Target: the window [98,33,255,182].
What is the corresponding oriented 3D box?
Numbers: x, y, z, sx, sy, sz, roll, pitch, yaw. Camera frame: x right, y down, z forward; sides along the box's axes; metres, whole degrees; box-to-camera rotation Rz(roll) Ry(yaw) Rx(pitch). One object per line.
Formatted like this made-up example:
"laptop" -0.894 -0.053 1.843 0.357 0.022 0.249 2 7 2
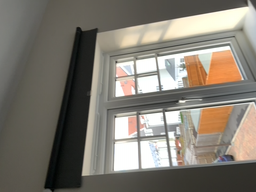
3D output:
"window" 0.360 0.010 1.490 0.080 1.090 1.040 72 -167 -52
